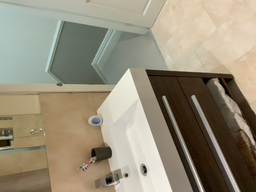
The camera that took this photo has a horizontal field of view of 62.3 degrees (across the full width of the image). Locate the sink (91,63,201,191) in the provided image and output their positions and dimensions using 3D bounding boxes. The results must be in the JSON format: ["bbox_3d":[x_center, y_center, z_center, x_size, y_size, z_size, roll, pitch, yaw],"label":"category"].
[{"bbox_3d":[0.060,0.350,1.070,0.510,0.130,0.900,-50,51,46],"label":"sink"}]
